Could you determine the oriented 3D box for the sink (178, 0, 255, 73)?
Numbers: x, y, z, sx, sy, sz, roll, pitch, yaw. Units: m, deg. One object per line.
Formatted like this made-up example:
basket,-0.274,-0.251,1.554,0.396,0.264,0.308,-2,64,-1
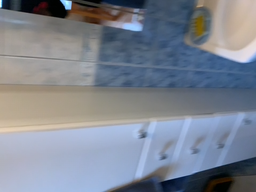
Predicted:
sink,0.450,-0.380,0.770,0.390,0.190,0.510,41,125,52
